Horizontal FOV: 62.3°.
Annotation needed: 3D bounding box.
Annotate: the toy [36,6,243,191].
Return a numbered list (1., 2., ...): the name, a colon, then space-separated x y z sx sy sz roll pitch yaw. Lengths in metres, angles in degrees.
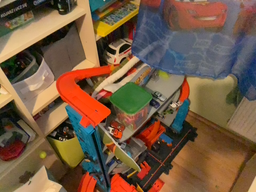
1. toy: 0.100 0.080 1.120 0.460 0.690 0.780 31 58 24
